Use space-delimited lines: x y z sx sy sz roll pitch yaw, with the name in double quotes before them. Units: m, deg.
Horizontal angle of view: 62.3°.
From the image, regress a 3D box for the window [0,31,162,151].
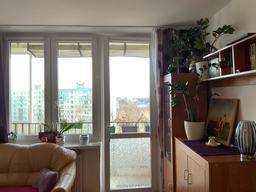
"window" -0.710 -0.070 3.240 2.460 1.730 0.190 0 0 -5
